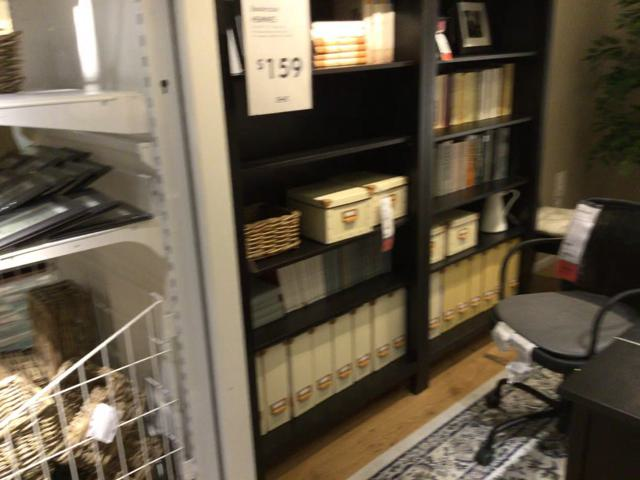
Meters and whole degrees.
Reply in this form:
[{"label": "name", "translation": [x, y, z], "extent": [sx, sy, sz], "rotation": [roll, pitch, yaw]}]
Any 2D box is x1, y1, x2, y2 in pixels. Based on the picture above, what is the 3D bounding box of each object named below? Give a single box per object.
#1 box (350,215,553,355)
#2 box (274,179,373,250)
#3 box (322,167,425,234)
[{"label": "box", "translation": [0.630, 0.170, 2.770], "extent": [0.770, 0.340, 0.560], "rotation": [-16, 20, -31]}, {"label": "box", "translation": [0.010, -0.100, 2.090], "extent": [0.230, 0.170, 0.270], "rotation": [-16, 20, -31]}, {"label": "box", "translation": [0.200, -0.160, 2.200], "extent": [0.230, 0.170, 0.320], "rotation": [-16, 20, -31]}]
